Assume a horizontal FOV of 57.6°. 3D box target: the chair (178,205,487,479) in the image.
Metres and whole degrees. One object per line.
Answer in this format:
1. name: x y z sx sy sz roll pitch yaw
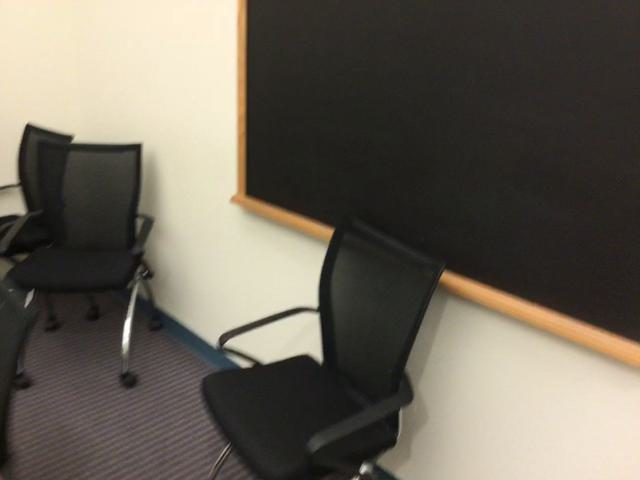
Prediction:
1. chair: -0.020 0.440 1.620 0.590 0.930 0.540 -7 21 -31

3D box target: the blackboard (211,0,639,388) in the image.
1. blackboard: 0.230 -0.380 1.550 1.530 1.030 0.130 20 24 40

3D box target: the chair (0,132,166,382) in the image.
1. chair: -1.010 0.050 2.500 0.570 0.910 0.570 3 18 -5

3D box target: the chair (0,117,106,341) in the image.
1. chair: -1.460 -0.090 2.800 0.590 0.900 0.570 20 24 40
